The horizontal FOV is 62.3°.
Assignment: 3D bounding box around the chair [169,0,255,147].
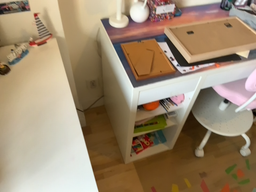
[{"bbox_3d":[0.610,-0.100,1.370,0.350,0.820,0.450,-12,53,-14],"label":"chair"}]
